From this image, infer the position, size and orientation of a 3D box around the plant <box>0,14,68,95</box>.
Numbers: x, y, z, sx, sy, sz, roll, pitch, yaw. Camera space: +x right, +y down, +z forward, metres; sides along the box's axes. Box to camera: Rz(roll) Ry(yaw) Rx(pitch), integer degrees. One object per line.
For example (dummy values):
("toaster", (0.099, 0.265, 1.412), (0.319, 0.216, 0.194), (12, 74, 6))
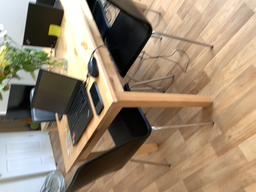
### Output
("plant", (-0.630, -0.240, 1.310), (0.300, 0.370, 0.350), (-53, 48, 40))

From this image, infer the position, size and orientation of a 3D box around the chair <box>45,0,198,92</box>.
("chair", (-0.040, -0.330, 1.400), (0.380, 0.830, 0.440), (54, 130, 41))

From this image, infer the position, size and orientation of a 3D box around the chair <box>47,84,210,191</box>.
("chair", (0.000, 0.240, 1.320), (0.380, 0.830, 0.460), (-61, 44, 34))
